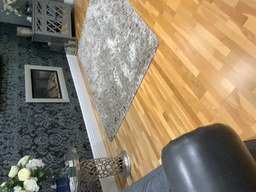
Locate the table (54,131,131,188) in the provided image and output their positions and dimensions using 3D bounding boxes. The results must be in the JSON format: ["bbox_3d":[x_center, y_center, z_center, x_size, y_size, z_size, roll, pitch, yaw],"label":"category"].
[{"bbox_3d":[-0.410,0.690,2.370,0.400,0.710,0.370,-63,38,37],"label":"table"}]

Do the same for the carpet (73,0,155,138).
[{"bbox_3d":[-0.410,-0.720,3.040,2.050,0.070,1.580,62,139,41],"label":"carpet"}]
